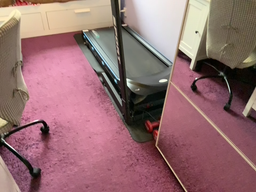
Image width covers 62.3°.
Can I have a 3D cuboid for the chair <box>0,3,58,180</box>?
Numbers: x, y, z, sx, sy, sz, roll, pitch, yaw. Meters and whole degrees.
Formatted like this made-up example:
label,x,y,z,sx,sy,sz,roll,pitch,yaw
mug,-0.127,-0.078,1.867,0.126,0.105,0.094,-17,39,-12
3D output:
label,x,y,z,sx,sy,sz,roll,pitch,yaw
chair,-0.780,0.030,1.180,0.550,0.910,0.460,-2,42,-6
